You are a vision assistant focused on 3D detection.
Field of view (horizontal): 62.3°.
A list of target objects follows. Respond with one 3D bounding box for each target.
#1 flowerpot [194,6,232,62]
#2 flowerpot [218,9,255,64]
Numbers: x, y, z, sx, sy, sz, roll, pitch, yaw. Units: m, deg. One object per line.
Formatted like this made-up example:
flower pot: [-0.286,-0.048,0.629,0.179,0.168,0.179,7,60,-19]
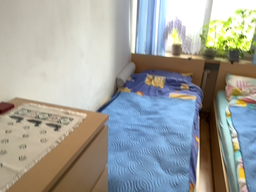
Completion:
flowerpot: [1.080,-0.810,2.760,0.330,0.660,0.250,9,24,15]
flowerpot: [1.360,-0.760,2.690,0.270,0.630,0.240,9,24,15]
